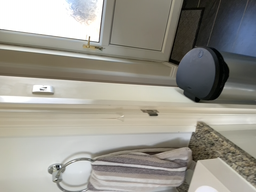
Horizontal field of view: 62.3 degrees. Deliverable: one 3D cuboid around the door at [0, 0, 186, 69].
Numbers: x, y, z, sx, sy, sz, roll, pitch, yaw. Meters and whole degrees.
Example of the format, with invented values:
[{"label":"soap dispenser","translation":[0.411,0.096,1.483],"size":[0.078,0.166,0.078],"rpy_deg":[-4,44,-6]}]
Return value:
[{"label":"door","translation":[-0.330,-0.830,2.110],"size":[0.090,1.990,0.930],"rpy_deg":[-143,58,-63]}]
